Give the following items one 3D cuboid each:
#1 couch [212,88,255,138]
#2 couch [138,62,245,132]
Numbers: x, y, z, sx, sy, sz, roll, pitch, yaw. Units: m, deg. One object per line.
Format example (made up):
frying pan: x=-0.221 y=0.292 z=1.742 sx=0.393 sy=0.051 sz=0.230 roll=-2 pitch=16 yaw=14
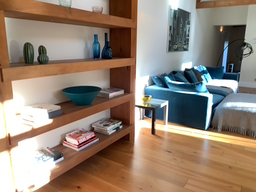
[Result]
couch: x=2.330 y=0.280 z=3.780 sx=1.220 sy=0.490 sz=1.370 roll=10 pitch=17 yaw=34
couch: x=1.800 y=-0.260 z=5.190 sx=1.360 sy=0.850 sz=3.590 roll=10 pitch=17 yaw=34
